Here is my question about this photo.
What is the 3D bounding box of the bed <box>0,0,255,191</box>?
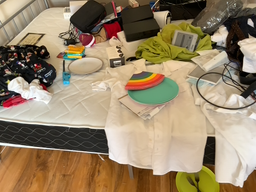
[{"bbox_3d":[0.060,-0.180,1.630,2.010,0.580,1.560,2,44,8],"label":"bed"}]

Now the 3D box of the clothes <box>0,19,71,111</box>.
[{"bbox_3d":[-0.690,-0.200,1.230,0.570,0.130,0.670,-18,45,-13],"label":"clothes"}]
